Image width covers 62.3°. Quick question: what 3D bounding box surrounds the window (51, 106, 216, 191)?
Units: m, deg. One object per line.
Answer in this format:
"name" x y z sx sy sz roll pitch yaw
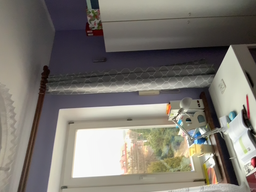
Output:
"window" 0.060 1.100 1.860 0.170 1.490 2.200 89 178 -55
